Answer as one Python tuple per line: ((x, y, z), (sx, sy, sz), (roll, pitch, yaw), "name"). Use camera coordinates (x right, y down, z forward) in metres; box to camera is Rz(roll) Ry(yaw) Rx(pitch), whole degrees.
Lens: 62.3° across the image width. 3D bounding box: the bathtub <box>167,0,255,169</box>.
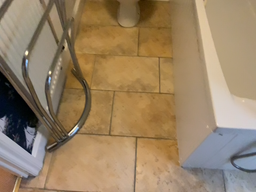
((0.660, -0.450, 1.400), (0.680, 0.540, 1.670), (4, 59, 2), "bathtub")
